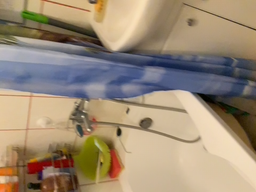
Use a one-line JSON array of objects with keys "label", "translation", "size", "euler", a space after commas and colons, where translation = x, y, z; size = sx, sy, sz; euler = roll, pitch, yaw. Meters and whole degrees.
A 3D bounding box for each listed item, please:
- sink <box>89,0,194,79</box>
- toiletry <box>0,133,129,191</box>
[{"label": "sink", "translation": [0.040, -0.320, 0.630], "size": [0.310, 0.140, 0.430], "euler": [59, 136, 45]}, {"label": "toiletry", "translation": [-0.370, 0.370, 1.070], "size": [0.310, 0.670, 0.170], "euler": [60, 136, 44]}]
